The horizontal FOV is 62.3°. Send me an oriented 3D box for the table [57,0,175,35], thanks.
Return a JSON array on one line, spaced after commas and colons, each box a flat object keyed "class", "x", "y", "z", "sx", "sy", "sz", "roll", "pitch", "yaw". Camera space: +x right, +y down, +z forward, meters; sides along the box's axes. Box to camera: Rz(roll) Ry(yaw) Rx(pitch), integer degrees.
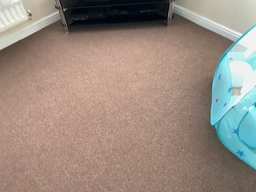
[{"class": "table", "x": -0.110, "y": -0.960, "z": 2.140, "sx": 1.090, "sy": 0.490, "sz": 0.320, "roll": -4, "pitch": 52, "yaw": 0}]
